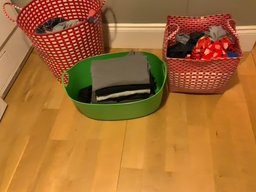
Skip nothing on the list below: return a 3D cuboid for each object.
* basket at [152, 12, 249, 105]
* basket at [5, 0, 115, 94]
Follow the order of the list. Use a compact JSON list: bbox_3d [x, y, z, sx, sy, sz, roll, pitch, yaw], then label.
[{"bbox_3d":[0.390,-0.230,1.260,0.440,0.310,0.440,4,54,11],"label":"basket"},{"bbox_3d":[-0.370,-0.360,1.390,0.490,0.430,0.500,-4,53,4],"label":"basket"}]
